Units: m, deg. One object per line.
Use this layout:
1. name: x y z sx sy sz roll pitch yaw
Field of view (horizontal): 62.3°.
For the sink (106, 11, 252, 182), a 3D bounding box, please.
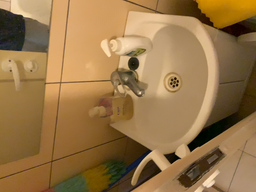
1. sink: 0.130 -0.020 0.680 0.320 0.160 0.420 25 111 37
